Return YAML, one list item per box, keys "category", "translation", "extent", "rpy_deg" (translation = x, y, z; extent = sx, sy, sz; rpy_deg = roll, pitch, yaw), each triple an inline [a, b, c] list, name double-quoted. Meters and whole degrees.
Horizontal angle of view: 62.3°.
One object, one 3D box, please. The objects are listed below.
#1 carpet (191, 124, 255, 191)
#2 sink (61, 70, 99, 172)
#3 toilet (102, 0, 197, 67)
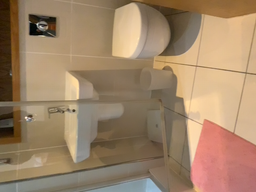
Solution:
- category: "carpet"
  translation: [0.660, 0.530, 1.220]
  extent: [0.750, 0.010, 0.500]
  rpy_deg: [28, 117, 60]
- category: "sink"
  translation: [-0.390, 0.150, 1.620]
  extent: [0.490, 0.150, 0.630]
  rpy_deg: [30, 118, 60]
- category: "toilet"
  translation: [0.130, -0.480, 1.680]
  extent: [0.560, 0.490, 0.420]
  rpy_deg: [29, 117, 60]
